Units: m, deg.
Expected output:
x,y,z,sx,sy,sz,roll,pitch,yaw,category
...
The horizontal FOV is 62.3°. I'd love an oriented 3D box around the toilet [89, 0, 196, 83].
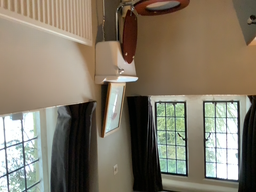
x,y,z,sx,sy,sz,roll,pitch,yaw,category
0.150,-0.620,1.770,0.730,0.980,0.560,-1,-177,21,toilet
